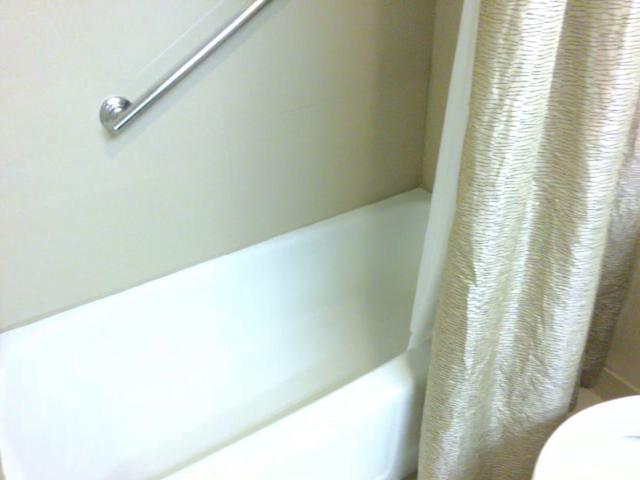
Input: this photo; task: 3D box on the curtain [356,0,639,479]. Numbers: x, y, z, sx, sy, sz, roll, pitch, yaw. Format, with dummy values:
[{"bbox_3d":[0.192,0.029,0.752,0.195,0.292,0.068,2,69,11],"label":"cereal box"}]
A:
[{"bbox_3d":[0.470,-0.280,1.050,0.710,1.880,0.380,-19,35,-26],"label":"curtain"}]
